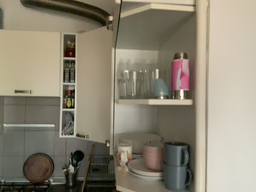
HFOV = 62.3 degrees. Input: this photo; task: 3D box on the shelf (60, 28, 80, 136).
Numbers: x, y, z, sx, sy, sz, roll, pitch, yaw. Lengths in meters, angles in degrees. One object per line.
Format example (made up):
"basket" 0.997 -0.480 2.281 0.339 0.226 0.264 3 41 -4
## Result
"shelf" -0.540 -0.120 2.010 0.120 0.950 0.280 1 -1 -7
